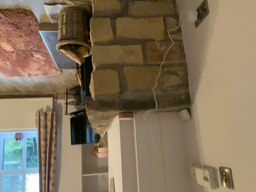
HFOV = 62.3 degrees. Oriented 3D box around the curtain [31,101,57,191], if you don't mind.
[{"bbox_3d":[-1.540,1.100,3.930,0.370,2.010,0.270,-1,168,-10],"label":"curtain"}]
